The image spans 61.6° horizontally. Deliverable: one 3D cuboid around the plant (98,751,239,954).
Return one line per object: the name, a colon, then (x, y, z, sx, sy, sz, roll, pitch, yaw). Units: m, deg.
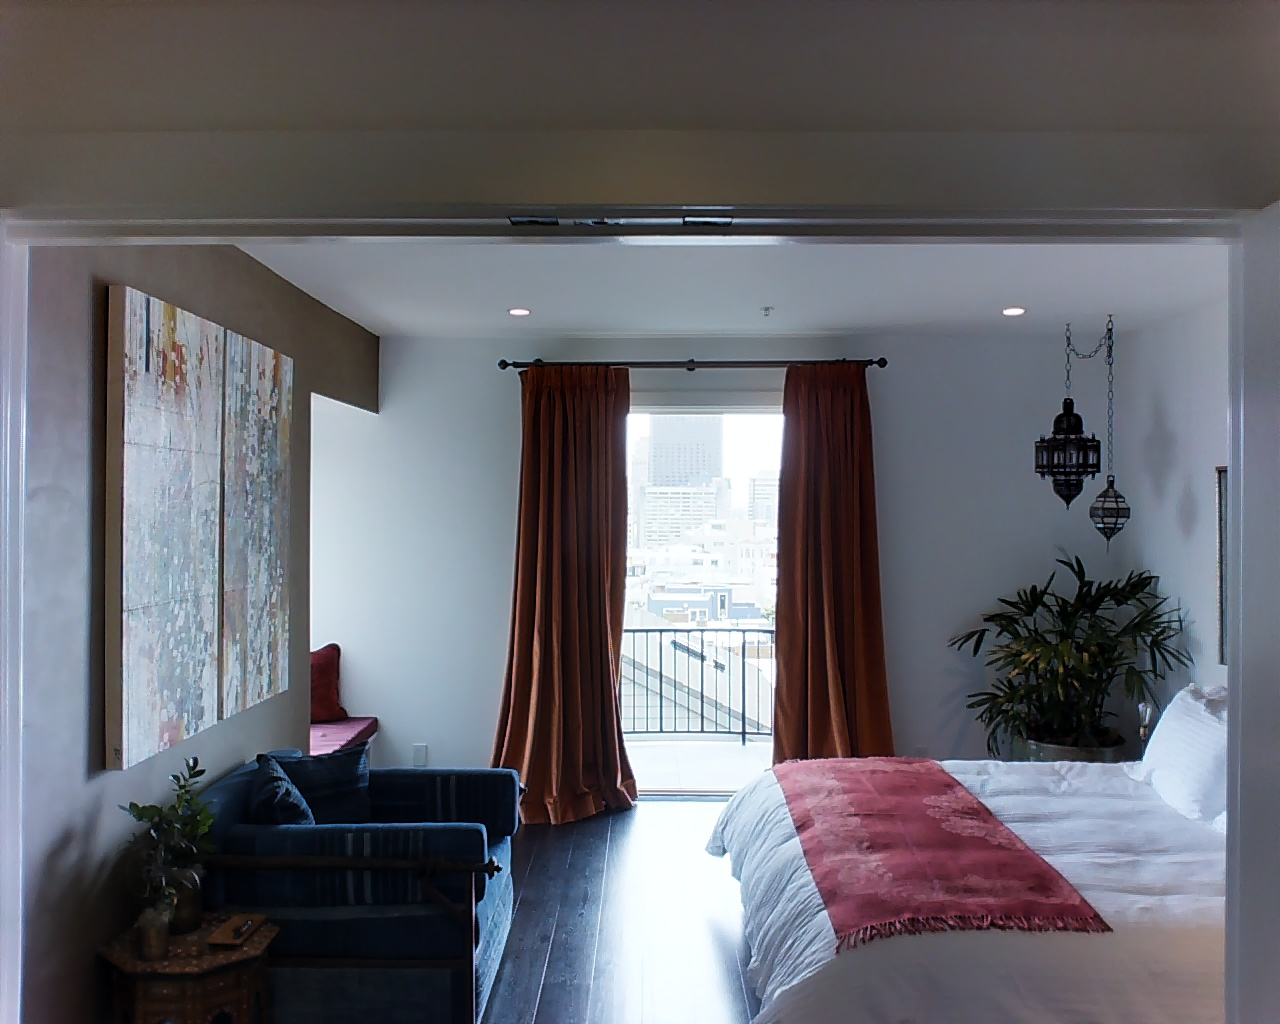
plant: (-1.370, 0.980, 3.150, 0.230, 0.470, 0.400, 0, 0, 1)

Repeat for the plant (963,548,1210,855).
plant: (2.320, 0.940, 5.710, 0.910, 1.460, 0.960, 0, 0, 1)

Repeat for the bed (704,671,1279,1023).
bed: (1.520, 1.220, 3.770, 2.470, 1.000, 2.120, 0, 0, 0)

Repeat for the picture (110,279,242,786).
picture: (-1.460, 0.060, 3.430, 0.070, 1.440, 0.760, 0, 0, 1)

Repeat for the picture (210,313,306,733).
picture: (-1.460, 0.040, 4.150, 0.070, 1.470, 0.780, 0, 0, 1)
